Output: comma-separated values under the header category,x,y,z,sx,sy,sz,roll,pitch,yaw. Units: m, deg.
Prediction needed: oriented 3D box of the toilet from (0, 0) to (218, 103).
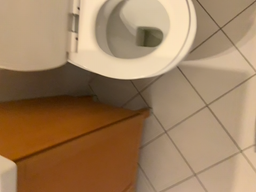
category,x,y,z,sx,sy,sz,roll,pitch,yaw
toilet,-0.090,-0.270,0.800,0.700,0.760,0.370,11,101,24
